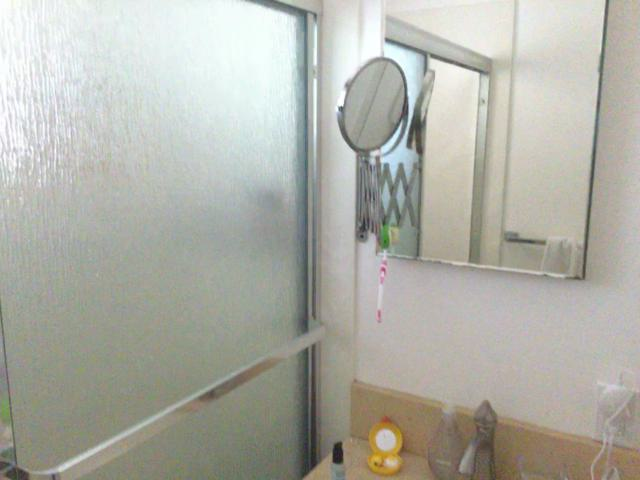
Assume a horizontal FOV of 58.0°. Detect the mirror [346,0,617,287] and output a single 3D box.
[{"bbox_3d":[0.270,-0.290,1.070,0.480,0.700,0.060,5,10,34],"label":"mirror"}]
